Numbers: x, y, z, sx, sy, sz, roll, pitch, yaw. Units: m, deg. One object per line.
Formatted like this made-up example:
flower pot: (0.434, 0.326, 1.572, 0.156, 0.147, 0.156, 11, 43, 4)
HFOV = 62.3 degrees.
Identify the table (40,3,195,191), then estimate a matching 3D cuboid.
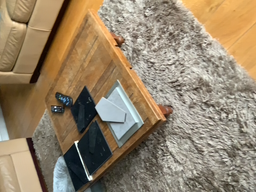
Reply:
table: (-0.180, 0.050, 1.380, 0.870, 0.300, 0.780, -49, 60, 35)
